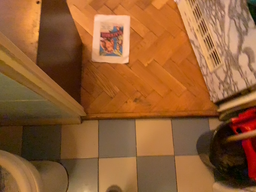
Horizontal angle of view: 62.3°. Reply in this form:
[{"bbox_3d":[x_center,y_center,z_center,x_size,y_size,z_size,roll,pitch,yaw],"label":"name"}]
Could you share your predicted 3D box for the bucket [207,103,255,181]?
[{"bbox_3d":[0.600,0.190,0.930,0.310,0.420,0.270,-4,78,-3],"label":"bucket"}]
